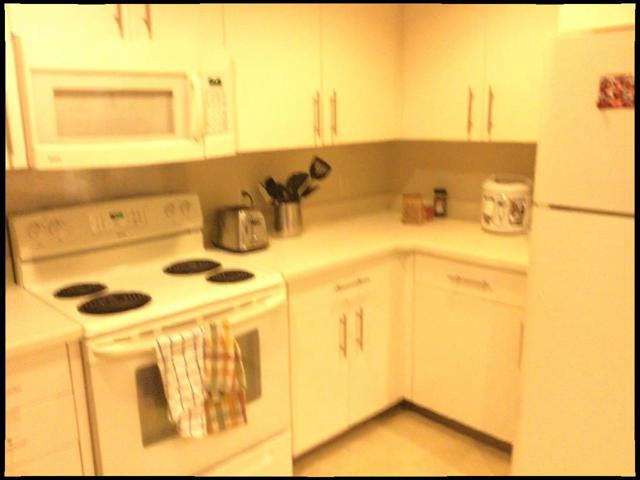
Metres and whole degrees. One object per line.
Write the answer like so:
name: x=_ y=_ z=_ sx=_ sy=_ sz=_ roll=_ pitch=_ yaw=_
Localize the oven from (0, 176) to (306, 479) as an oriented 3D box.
oven: x=-0.649 y=0.441 z=2.190 sx=0.779 sy=1.202 sz=0.889 roll=12 pitch=19 yaw=40
